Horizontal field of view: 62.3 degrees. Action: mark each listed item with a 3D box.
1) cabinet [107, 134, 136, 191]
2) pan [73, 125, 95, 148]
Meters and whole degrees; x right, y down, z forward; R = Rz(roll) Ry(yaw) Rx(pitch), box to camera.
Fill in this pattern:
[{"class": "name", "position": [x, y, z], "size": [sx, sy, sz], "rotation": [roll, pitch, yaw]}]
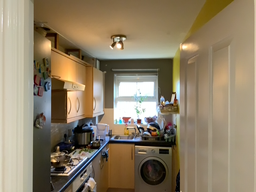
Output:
[{"class": "cabinet", "position": [-0.100, 1.200, 3.770], "size": [0.430, 0.930, 0.590], "rotation": [0, 0, 6]}, {"class": "pan", "position": [-0.640, 0.590, 3.120], "size": [0.250, 0.290, 0.270], "rotation": [0, 0, 6]}]
